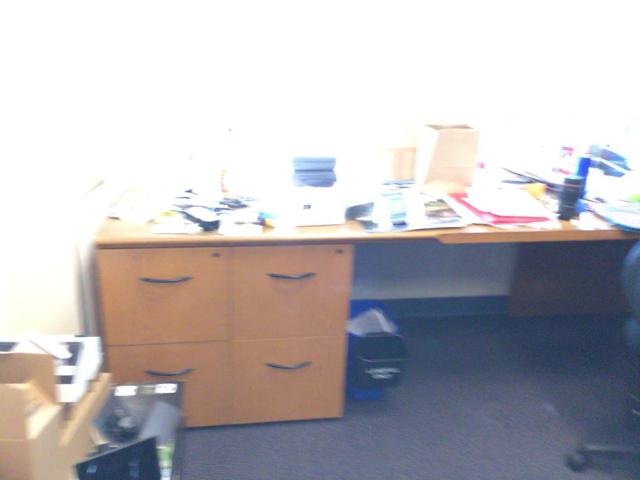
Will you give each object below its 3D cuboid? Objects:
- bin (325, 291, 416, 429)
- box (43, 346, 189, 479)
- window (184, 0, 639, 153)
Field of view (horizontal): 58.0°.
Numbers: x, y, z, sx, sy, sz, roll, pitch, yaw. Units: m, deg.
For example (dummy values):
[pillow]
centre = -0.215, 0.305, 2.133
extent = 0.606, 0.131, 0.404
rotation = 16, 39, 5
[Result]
[bin]
centre = 0.170, 0.430, 2.170
extent = 0.230, 0.310, 0.440
rotation = -3, 20, -9
[box]
centre = -0.520, 0.620, 1.570
extent = 0.270, 0.350, 0.660
rotation = -4, 20, -9
[window]
centre = 0.610, -0.860, 2.390
extent = 2.260, 0.860, 0.360
rotation = -3, 20, -9
